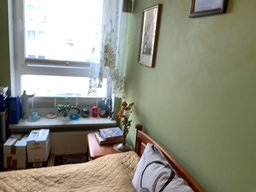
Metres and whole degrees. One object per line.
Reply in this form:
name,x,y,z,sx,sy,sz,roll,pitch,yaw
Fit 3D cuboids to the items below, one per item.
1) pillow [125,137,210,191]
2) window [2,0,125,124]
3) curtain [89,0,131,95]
pillow,0.200,0.560,1.250,0.230,0.340,0.700,1,15,-17
window,-0.750,-0.620,2.610,1.340,1.930,0.170,0,16,-22
curtain,-0.210,-0.730,2.470,0.390,1.450,0.130,0,16,-21
